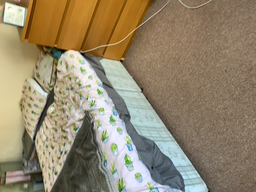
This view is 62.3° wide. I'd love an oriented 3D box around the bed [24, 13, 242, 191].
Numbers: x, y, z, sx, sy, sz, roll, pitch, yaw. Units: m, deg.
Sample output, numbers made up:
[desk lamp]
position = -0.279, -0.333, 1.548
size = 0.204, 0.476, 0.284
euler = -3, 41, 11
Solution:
[bed]
position = -0.380, 0.490, 2.080
size = 1.630, 0.650, 2.130
euler = -59, 44, 29
